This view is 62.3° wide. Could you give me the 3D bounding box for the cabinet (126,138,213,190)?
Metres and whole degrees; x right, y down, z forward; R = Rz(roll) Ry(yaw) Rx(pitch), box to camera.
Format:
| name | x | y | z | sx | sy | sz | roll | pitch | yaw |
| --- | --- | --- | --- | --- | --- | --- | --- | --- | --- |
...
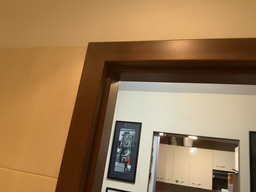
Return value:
| name | x | y | z | sx | sy | sz | roll | pitch | yaw |
| --- | --- | --- | --- | --- | --- | --- | --- | --- | --- |
| cabinet | 0.820 | 1.320 | 4.230 | 1.570 | 0.740 | 0.370 | 3 | -18 | 18 |
